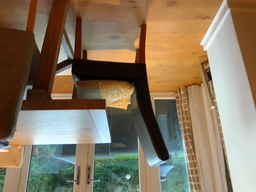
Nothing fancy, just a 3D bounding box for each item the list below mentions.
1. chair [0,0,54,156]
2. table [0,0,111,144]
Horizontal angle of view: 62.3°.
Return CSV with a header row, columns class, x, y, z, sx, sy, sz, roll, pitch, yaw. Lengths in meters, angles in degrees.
class,x,y,z,sx,sy,sz,roll,pitch,yaw
chair,-0.700,-0.180,1.220,0.400,0.960,0.620,4,158,-14
table,-1.150,-0.110,1.620,2.020,0.790,1.000,0,159,-4
